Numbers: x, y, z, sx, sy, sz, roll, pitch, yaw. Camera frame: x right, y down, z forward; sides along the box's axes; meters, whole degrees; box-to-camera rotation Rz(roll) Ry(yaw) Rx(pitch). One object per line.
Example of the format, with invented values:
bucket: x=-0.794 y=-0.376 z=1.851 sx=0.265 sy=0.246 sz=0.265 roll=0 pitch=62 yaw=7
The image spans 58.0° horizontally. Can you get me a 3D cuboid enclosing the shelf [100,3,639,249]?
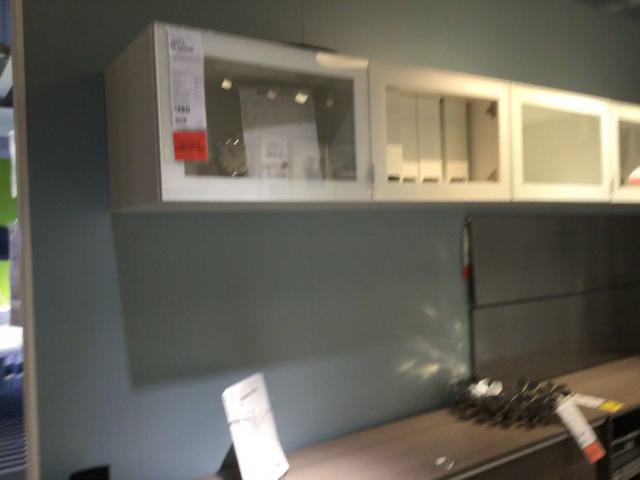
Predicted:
shelf: x=0.770 y=-0.320 z=2.160 sx=2.910 sy=0.490 sz=0.480 roll=-4 pitch=-2 yaw=-31
